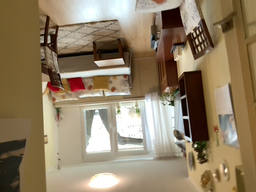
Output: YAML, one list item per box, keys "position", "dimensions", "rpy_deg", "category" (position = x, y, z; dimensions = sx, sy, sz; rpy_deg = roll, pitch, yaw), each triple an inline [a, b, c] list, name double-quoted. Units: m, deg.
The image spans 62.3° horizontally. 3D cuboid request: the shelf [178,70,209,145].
- position: [0.700, 0.130, 2.320]
  dimensions: [0.150, 0.740, 0.420]
  rpy_deg: [-5, 175, 2]
  category: "shelf"
